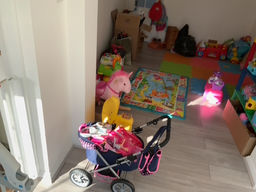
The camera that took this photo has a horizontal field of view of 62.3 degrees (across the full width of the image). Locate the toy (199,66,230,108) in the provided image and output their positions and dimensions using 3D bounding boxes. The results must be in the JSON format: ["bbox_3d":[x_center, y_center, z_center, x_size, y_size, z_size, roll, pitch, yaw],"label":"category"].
[{"bbox_3d":[1.240,-0.150,3.110,0.280,0.340,0.570,13,31,8],"label":"toy"}]

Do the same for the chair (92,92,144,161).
[{"bbox_3d":[-0.090,0.270,2.030,0.350,0.400,0.450,12,31,8],"label":"chair"}]
